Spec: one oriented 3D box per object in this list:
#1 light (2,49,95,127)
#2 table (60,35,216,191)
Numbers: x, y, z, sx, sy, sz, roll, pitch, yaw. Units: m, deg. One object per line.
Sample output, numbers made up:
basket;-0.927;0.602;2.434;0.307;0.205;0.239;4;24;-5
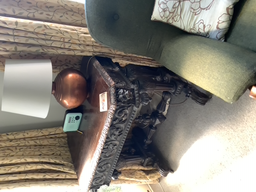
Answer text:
light;-0.460;-0.040;1.200;0.220;0.430;0.330;51;131;46
table;-0.020;0.110;1.600;0.740;0.700;0.800;51;131;46
